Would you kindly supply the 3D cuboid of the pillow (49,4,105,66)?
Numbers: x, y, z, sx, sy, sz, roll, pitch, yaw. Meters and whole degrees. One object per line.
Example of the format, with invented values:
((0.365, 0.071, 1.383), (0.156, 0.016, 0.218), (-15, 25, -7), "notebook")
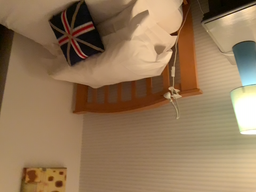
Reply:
((-0.280, -0.320, 1.160), (0.240, 0.270, 0.110), (-4, -168, 35), "pillow")

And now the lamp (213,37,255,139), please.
((0.540, -0.010, 0.910), (0.210, 0.350, 0.330), (-11, 160, 35), "lamp")
